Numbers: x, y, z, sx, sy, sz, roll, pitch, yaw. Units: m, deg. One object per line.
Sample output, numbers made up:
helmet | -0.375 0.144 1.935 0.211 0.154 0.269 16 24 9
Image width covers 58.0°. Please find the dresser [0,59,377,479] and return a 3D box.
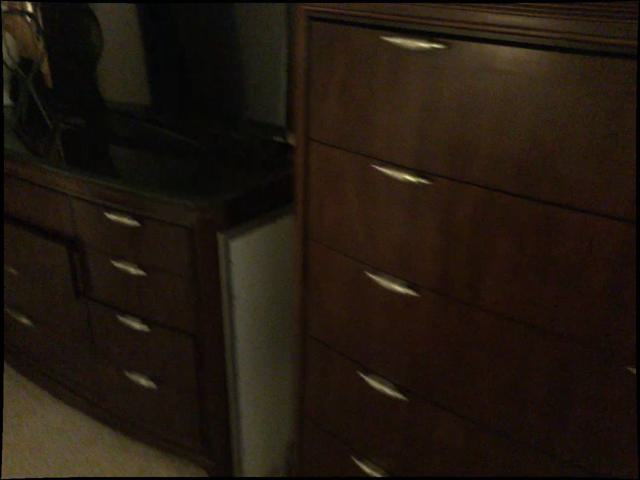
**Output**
dresser | -0.838 0.040 2.070 1.897 1.002 0.760 18 33 30
